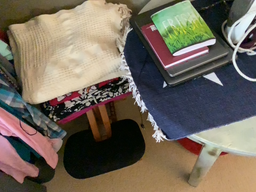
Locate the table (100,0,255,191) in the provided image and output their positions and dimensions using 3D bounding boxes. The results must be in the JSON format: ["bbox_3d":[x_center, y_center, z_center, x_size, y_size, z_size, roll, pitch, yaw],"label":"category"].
[{"bbox_3d":[0.440,-0.050,1.150,0.870,0.770,0.850,-17,56,-2],"label":"table"}]
